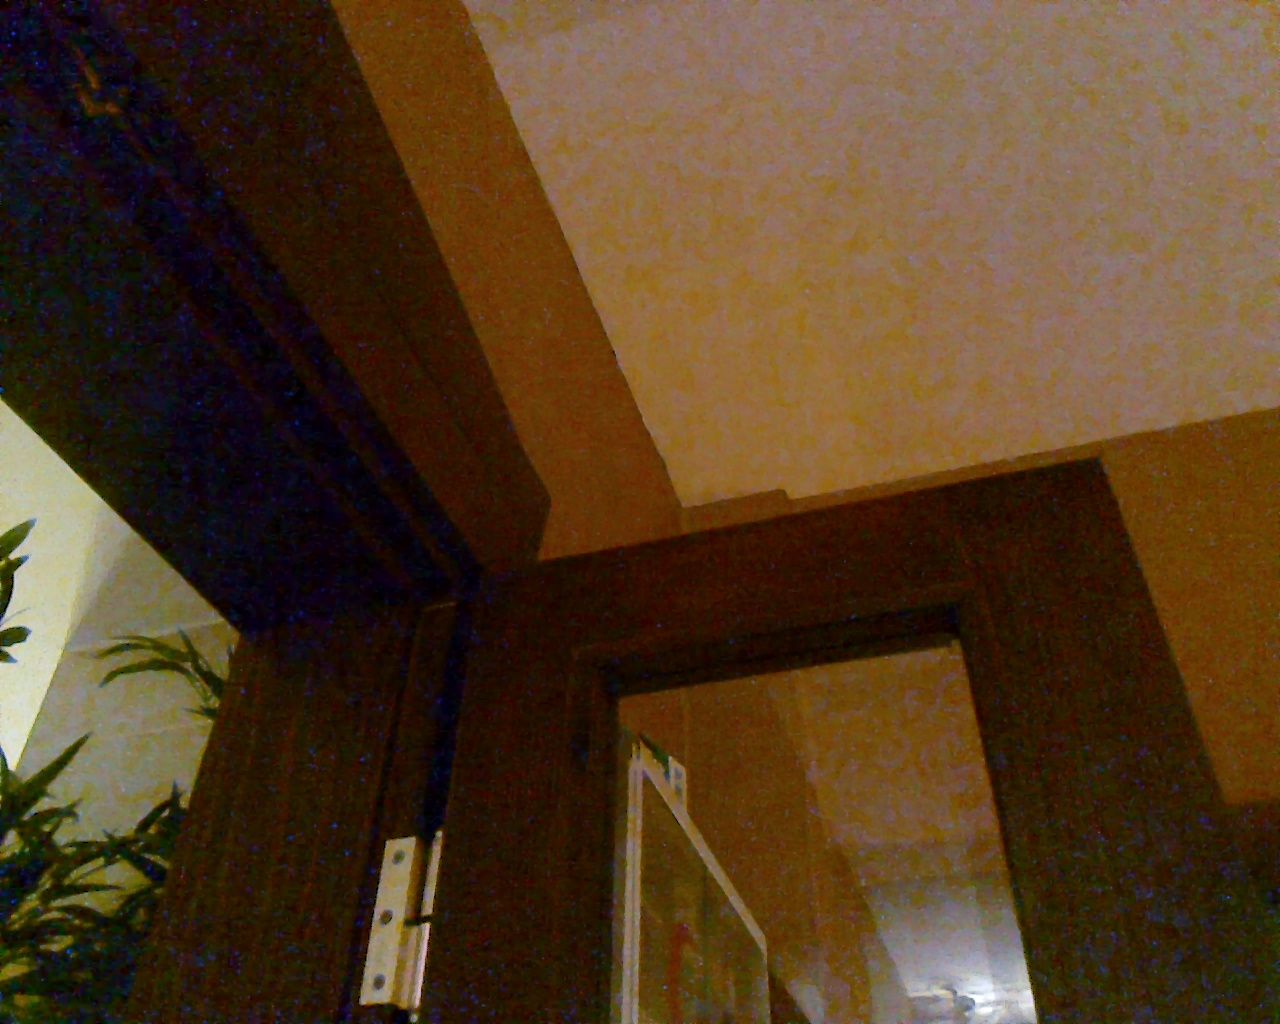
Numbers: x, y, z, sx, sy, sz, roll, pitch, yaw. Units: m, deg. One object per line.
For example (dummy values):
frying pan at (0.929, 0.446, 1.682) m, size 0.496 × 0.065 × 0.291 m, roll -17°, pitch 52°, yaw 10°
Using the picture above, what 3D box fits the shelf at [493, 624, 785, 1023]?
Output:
shelf at (0.030, 0.420, 0.970) m, size 0.100 × 0.400 × 0.530 m, roll -11°, pitch -42°, yaw 13°
